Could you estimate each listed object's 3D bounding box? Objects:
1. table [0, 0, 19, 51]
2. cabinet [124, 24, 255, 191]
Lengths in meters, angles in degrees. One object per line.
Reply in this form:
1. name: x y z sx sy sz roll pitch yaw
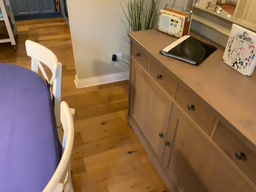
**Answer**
1. table: -2.080 -1.260 3.230 0.530 0.900 0.780 -11 39 -18
2. cabinet: 0.440 0.190 1.410 0.480 0.900 1.260 -12 39 -19
